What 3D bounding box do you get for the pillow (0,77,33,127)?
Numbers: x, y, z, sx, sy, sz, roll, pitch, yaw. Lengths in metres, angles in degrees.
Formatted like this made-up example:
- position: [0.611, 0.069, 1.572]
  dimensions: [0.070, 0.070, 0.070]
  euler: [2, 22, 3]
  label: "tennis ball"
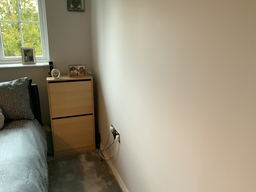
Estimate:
- position: [-1.180, 0.050, 2.010]
  dimensions: [0.470, 0.420, 0.260]
  euler: [-5, 11, -25]
  label: "pillow"
